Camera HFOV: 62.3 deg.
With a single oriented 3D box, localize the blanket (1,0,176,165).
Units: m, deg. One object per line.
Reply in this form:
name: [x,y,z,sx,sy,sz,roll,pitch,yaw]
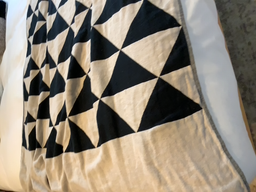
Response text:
blanket: [-0.280,-0.520,0.820,0.810,0.070,1.480,-20,69,43]
